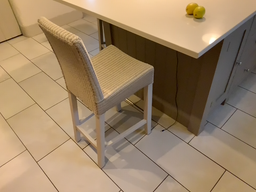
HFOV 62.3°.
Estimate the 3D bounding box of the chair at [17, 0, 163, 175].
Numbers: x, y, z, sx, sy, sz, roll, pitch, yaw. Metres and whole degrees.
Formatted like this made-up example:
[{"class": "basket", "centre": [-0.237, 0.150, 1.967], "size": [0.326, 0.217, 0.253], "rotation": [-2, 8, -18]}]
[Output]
[{"class": "chair", "centre": [-0.160, -0.070, 1.390], "size": [0.480, 1.010, 0.540], "rotation": [33, 54, 33]}]
